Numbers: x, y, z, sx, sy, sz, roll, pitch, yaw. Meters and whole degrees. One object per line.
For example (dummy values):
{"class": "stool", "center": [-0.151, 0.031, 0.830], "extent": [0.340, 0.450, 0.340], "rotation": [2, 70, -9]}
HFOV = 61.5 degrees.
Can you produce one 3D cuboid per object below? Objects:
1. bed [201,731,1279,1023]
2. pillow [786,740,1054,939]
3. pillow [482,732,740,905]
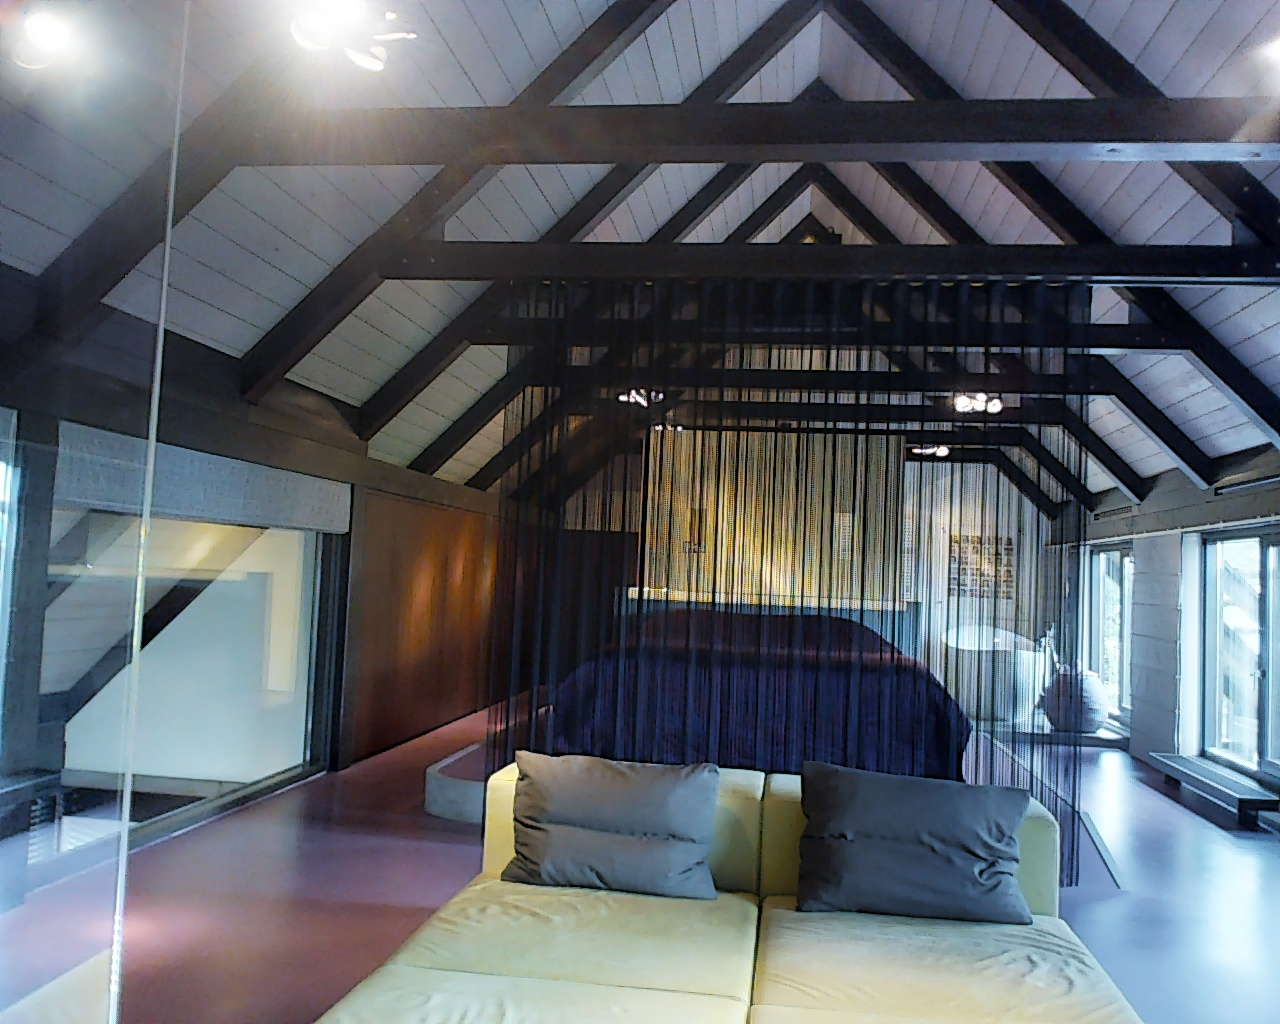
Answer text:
{"class": "bed", "center": [0.330, 1.180, 3.020], "extent": [2.000, 0.680, 2.340], "rotation": [2, -4, 9]}
{"class": "pillow", "center": [0.850, 1.000, 3.360], "extent": [0.760, 0.470, 0.340], "rotation": [2, -4, 9]}
{"class": "pillow", "center": [-0.080, 0.980, 3.510], "extent": [0.770, 0.420, 0.350], "rotation": [2, -4, 9]}
